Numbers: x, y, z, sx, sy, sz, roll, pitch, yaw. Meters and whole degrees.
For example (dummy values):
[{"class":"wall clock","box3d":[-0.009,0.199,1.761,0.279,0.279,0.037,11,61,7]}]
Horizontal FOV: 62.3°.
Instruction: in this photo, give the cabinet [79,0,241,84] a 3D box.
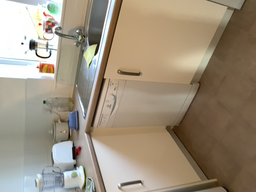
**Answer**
[{"class":"cabinet","box3d":[0.180,-0.520,1.610,0.580,0.910,0.600,-120,40,-47]}]

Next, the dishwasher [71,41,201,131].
[{"class":"dishwasher","box3d":[0.030,-0.090,1.880,0.580,0.910,0.470,-120,40,-47]}]

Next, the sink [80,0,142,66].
[{"class":"sink","box3d":[-0.150,-0.560,1.470,0.520,0.200,0.490,-120,40,-47]}]
